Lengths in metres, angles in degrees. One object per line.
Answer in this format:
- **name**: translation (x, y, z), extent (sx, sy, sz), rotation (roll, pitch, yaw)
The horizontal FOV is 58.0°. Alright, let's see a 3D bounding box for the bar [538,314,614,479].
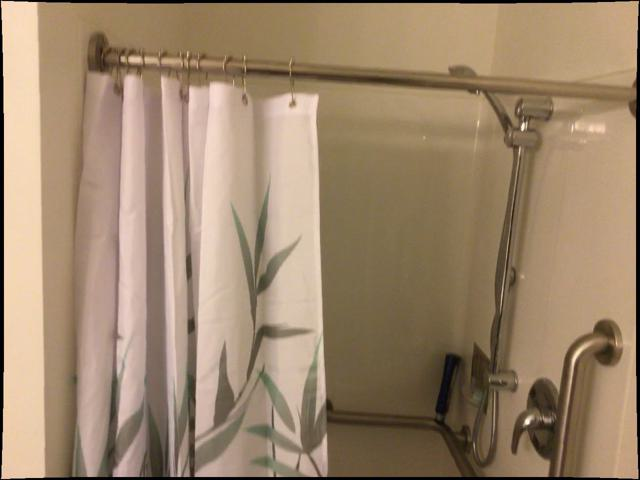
- **bar**: translation (0.469, 0.331, 1.070), extent (0.080, 0.371, 0.090), rotation (-1, 9, -2)

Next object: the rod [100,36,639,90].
- **rod**: translation (0.090, -0.291, 0.950), extent (0.878, 0.080, 0.040), rotation (-1, 9, -2)
